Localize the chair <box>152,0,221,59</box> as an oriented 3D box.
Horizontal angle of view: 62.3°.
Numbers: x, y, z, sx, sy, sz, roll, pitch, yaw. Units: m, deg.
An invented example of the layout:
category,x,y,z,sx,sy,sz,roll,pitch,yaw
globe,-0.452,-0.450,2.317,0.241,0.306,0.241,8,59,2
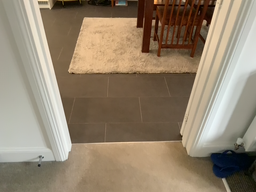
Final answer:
category,x,y,z,sx,sy,sz,roll,pitch,yaw
chair,0.630,-0.990,2.410,0.530,0.970,0.570,-1,40,-3
